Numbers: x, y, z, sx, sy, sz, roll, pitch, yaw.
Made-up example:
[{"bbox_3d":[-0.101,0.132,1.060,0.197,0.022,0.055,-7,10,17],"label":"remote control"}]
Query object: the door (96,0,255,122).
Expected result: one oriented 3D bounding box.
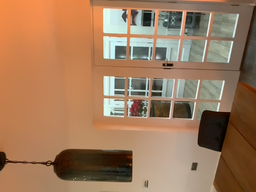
[{"bbox_3d":[0.570,-0.430,2.990,0.090,2.010,1.690,-90,3,-68],"label":"door"}]
